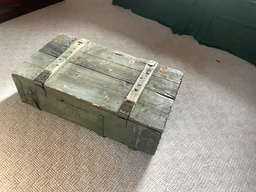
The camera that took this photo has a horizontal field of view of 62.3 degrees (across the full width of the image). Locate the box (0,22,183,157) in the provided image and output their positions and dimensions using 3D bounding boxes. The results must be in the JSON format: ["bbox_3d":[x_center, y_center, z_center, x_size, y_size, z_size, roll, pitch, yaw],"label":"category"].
[{"bbox_3d":[-0.180,-0.090,1.240,0.840,0.270,0.500,21,47,13],"label":"box"}]
